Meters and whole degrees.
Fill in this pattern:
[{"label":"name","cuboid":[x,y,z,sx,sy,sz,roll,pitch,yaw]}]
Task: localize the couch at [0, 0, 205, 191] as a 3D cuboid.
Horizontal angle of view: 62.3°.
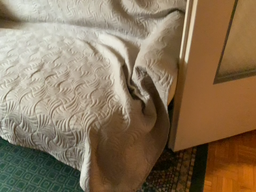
[{"label":"couch","cuboid":[-0.760,-0.360,1.350,2.220,0.700,1.200,13,42,17]}]
